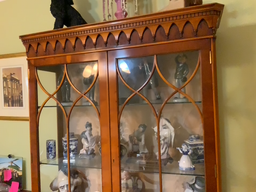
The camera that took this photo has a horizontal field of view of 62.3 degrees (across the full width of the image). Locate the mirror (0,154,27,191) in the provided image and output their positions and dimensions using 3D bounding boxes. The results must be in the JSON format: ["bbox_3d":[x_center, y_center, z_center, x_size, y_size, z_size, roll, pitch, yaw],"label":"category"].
[{"bbox_3d":[-0.890,0.580,1.520,0.270,0.280,0.130,-2,0,18],"label":"mirror"}]
